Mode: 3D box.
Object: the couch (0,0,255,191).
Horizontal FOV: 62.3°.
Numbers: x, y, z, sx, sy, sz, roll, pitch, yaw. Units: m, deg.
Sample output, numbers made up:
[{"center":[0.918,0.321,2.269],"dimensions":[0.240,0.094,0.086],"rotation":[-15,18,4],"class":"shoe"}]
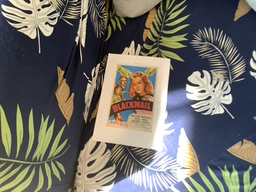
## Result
[{"center":[0.190,0.170,0.700],"dimensions":[1.070,0.680,0.520],"rotation":[9,74,4],"class":"couch"}]
